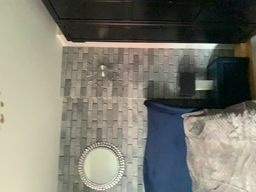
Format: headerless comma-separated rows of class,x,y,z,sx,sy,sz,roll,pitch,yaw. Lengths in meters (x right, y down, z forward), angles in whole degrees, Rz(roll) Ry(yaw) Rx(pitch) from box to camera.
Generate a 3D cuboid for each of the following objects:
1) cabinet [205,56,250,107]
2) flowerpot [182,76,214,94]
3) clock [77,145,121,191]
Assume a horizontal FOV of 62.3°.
cabinet,1.320,-0.180,2.870,0.400,0.380,0.610,102,168,-82
flowerpot,0.960,-0.150,2.930,0.250,0.340,0.200,102,168,-82
clock,-0.390,1.000,2.990,0.150,0.590,0.590,99,172,-78
